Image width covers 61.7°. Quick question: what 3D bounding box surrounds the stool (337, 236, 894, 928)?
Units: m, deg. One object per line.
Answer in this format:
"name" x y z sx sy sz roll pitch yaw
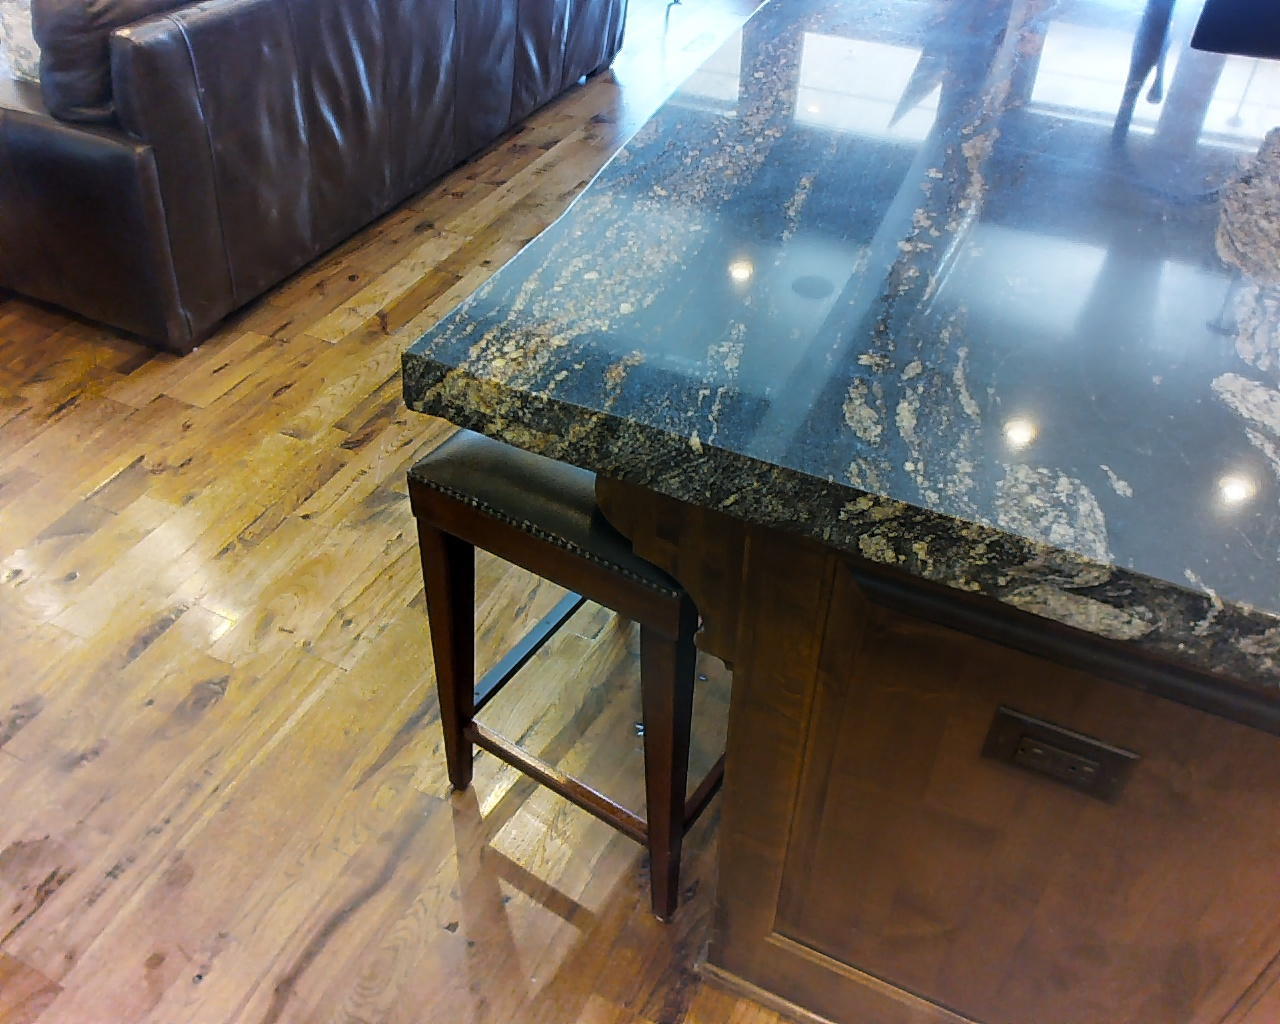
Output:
"stool" 0.000 0.090 1.560 0.480 0.690 0.580 18 45 19
